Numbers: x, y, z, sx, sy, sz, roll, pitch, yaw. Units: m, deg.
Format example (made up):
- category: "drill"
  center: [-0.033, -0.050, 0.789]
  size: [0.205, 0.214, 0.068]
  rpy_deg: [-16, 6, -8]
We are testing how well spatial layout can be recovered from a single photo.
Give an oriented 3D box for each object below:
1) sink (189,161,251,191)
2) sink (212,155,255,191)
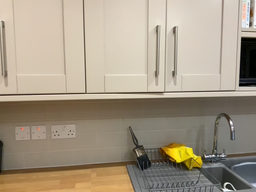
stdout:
- category: "sink"
  center: [0.510, 0.510, 1.220]
  size: [0.200, 0.150, 0.290]
  rpy_deg: [-1, 6, -10]
- category: "sink"
  center: [0.810, 0.540, 1.250]
  size: [0.400, 0.210, 0.450]
  rpy_deg: [-1, 6, -10]
